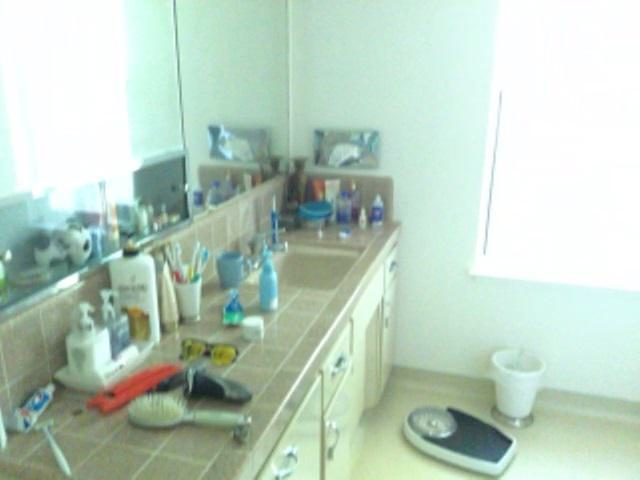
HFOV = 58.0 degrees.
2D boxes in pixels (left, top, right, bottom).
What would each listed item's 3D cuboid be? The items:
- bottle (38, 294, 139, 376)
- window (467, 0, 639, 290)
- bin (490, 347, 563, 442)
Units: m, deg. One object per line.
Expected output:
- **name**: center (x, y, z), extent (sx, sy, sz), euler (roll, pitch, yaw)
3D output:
- **bottle**: center (-0.520, 0.210, 1.310), extent (0.140, 0.120, 0.140), euler (4, 17, 21)
- **window**: center (0.980, -0.580, 2.090), extent (0.810, 1.500, 0.220), euler (4, 17, 21)
- **bin**: center (0.830, 0.610, 2.320), extent (0.250, 0.250, 0.240), euler (4, 17, 21)
